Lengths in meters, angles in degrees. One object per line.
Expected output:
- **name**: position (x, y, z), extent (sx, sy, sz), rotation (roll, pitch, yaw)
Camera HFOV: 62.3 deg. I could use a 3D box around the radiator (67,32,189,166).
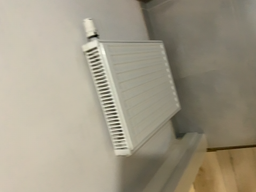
- **radiator**: position (0.080, -0.050, 1.010), extent (0.120, 0.710, 0.440), rotation (-19, 92, 31)
